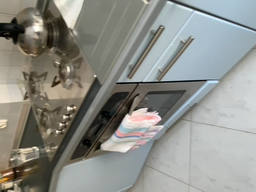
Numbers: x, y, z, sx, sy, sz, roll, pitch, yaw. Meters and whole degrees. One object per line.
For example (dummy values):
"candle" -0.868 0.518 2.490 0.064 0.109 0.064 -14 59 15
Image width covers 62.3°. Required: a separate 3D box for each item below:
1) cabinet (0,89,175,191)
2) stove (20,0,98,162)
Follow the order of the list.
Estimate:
"cabinet" -0.590 0.830 1.950 1.980 0.830 0.600 -53 56 38
"stove" -0.370 -0.080 0.970 0.600 0.020 0.540 -53 56 38
